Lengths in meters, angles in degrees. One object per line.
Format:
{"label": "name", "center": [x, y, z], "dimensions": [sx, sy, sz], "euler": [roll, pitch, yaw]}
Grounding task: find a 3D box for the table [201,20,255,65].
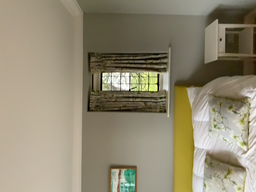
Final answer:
{"label": "table", "center": [1.330, -0.650, 2.670], "dimensions": [0.390, 0.680, 0.470], "euler": [-113, 23, -89]}
